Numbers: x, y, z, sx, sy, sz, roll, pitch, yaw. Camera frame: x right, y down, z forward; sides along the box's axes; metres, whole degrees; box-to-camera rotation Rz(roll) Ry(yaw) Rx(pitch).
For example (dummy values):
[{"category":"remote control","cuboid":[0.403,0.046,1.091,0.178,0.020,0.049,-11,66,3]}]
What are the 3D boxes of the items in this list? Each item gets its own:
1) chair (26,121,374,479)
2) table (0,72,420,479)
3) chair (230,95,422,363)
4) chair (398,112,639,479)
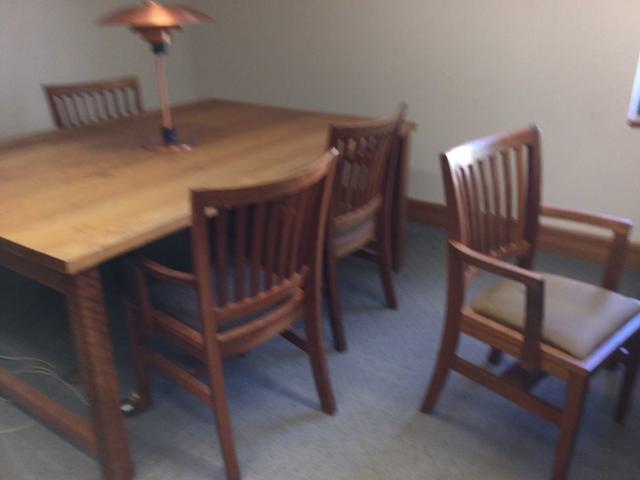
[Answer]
[{"category":"chair","cuboid":[-0.300,0.160,1.850,0.650,0.900,0.750,12,27,33]},{"category":"table","cuboid":[-0.650,-0.120,2.520,1.460,0.940,1.870,12,27,33]},{"category":"chair","cuboid":[0.060,-0.090,2.400,0.480,0.900,0.610,12,27,33]},{"category":"chair","cuboid":[0.680,0.140,1.780,0.620,0.910,0.650,14,28,36]}]
